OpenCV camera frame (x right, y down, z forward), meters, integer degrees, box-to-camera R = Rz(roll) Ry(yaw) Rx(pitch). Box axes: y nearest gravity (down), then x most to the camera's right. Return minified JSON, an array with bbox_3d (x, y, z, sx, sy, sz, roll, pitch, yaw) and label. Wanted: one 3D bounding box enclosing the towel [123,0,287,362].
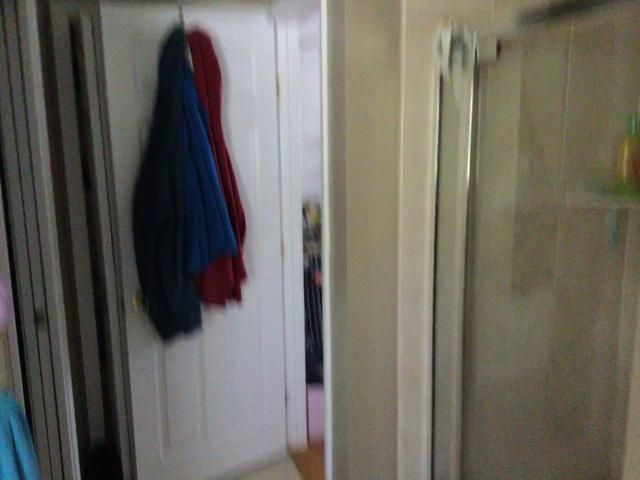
[{"bbox_3d":[-0.480,-0.220,2.370,0.580,1.330,0.380,0,9,-15],"label":"towel"}]
